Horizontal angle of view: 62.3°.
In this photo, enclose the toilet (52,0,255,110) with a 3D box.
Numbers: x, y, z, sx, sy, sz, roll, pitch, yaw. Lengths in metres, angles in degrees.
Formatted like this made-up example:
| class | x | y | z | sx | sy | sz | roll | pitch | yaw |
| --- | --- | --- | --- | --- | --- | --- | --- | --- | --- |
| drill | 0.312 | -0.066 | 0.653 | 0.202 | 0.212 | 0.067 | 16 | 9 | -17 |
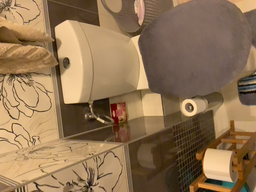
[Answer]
| class | x | y | z | sx | sy | sz | roll | pitch | yaw |
| --- | --- | --- | --- | --- | --- | --- | --- | --- | --- |
| toilet | 0.190 | -0.190 | 1.010 | 0.640 | 0.790 | 0.390 | -5 | 92 | 39 |
